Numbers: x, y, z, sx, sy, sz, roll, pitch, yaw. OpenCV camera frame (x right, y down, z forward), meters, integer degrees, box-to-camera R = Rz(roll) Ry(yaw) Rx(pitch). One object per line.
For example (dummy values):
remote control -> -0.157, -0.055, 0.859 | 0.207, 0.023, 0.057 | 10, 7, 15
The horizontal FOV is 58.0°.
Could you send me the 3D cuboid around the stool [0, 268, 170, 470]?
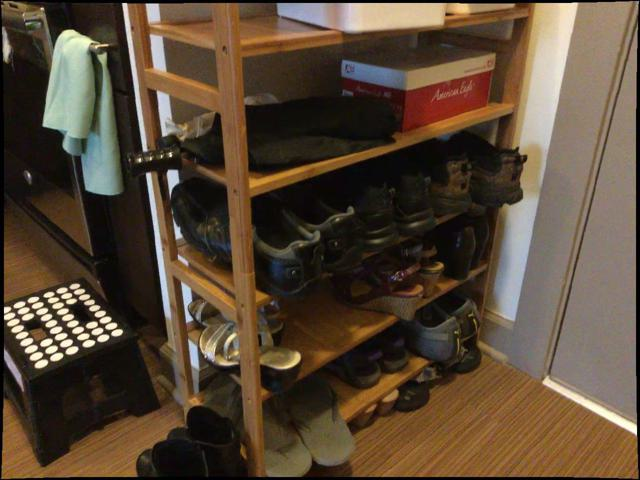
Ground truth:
stool -> -0.519, 0.251, 1.210 | 0.300, 0.200, 0.250 | 26, 39, 35
